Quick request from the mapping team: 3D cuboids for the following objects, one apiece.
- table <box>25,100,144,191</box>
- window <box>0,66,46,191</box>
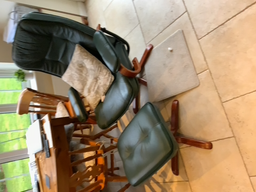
[{"bbox_3d":[-0.410,0.950,2.100,0.820,0.730,1.590,-37,65,46],"label":"table"},{"bbox_3d":[-1.670,0.400,2.250,0.090,1.290,1.570,-31,70,47],"label":"window"}]
